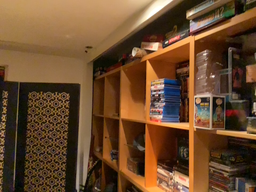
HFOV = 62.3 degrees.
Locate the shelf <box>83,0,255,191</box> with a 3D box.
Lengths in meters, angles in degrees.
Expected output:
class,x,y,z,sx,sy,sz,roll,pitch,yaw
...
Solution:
class,x,y,z,sx,sy,sz,roll,pitch,yaw
shelf,0.200,0.720,1.770,0.520,2.080,2.440,3,-4,-26
